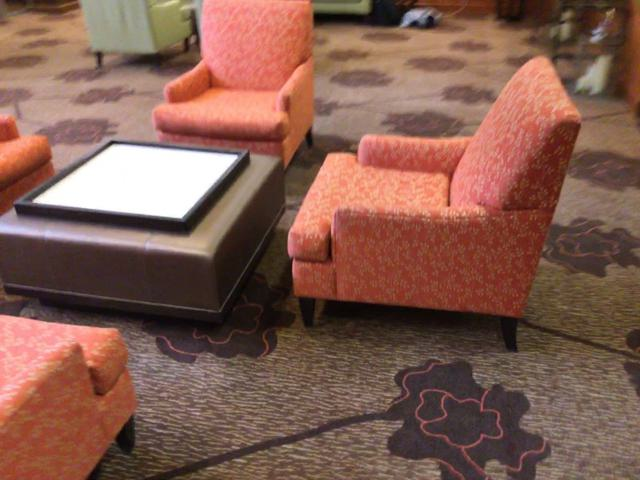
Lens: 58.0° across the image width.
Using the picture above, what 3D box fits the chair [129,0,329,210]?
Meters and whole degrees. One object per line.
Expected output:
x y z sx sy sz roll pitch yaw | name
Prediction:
-0.450 -0.860 3.290 0.770 0.910 0.920 10 37 7 | chair

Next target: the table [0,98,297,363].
-0.680 -0.110 2.420 0.940 0.460 1.020 8 40 9 | table

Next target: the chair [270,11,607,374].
0.360 -0.200 2.160 0.900 0.960 0.770 10 37 7 | chair
